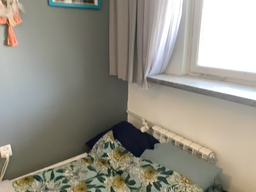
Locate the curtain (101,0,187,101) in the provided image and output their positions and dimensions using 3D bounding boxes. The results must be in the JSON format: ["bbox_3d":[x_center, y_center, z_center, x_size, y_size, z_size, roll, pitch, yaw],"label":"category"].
[{"bbox_3d":[0.070,-0.750,1.590,0.130,1.430,0.800,-12,20,-38],"label":"curtain"}]

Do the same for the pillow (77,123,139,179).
[{"bbox_3d":[-0.180,0.460,1.880,0.380,0.240,0.390,-12,20,-39],"label":"pillow"}]

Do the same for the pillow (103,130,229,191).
[{"bbox_3d":[0.230,0.500,1.470,0.470,0.180,0.710,-13,21,-41],"label":"pillow"}]
